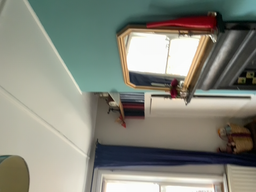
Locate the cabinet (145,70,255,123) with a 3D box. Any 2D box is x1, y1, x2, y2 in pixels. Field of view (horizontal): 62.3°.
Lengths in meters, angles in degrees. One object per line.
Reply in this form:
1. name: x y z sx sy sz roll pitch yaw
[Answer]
1. cabinet: 1.160 0.040 3.130 0.880 1.800 0.390 83 -170 -65
